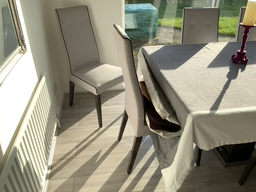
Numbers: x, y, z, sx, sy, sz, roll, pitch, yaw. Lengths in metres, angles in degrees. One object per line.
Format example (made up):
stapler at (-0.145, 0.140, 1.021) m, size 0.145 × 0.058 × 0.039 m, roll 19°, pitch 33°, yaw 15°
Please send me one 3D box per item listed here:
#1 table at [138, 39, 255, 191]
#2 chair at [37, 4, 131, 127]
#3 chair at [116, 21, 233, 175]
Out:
table at (1.190, 0.080, 1.740) m, size 2.030 × 0.780 × 1.110 m, roll -3°, pitch 31°, yaw -7°
chair at (-0.420, -0.350, 2.200) m, size 0.740 × 1.020 × 0.480 m, roll 23°, pitch 37°, yaw 33°
chair at (0.250, 0.020, 1.590) m, size 0.590 × 1.020 × 0.450 m, roll -6°, pitch 31°, yaw -11°
